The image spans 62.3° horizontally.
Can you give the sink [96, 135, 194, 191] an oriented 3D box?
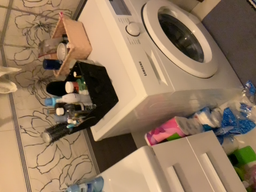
[{"bbox_3d":[0.110,0.530,0.860,0.430,0.110,0.600,-43,61,40],"label":"sink"}]
